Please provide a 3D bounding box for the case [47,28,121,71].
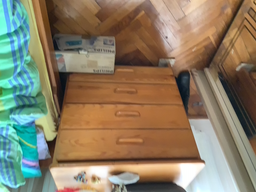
[{"bbox_3d":[-0.220,-0.240,1.110,0.350,0.150,0.130,3,138,-9],"label":"case"}]
